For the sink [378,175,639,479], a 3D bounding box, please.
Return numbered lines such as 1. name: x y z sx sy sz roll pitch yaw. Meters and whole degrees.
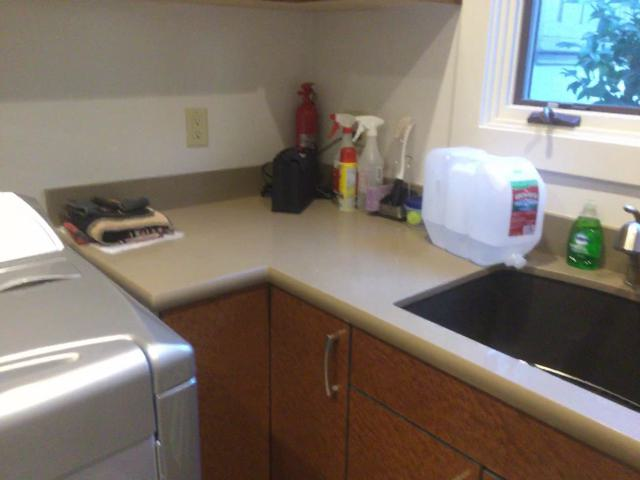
1. sink: 0.520 0.190 1.140 0.540 0.490 0.560 -13 23 -40
